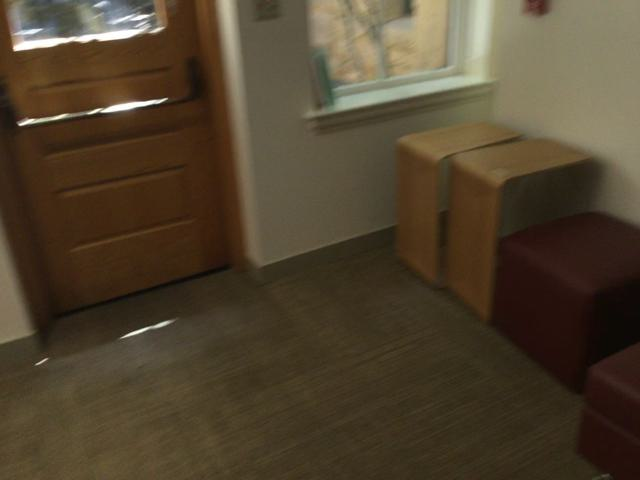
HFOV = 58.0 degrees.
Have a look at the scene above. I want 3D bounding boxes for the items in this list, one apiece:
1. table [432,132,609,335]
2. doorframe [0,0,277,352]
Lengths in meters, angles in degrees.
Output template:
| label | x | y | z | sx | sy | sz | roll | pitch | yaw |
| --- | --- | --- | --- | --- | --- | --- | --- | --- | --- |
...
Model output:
| label | x | y | z | sx | sy | sz | roll | pitch | yaw |
| --- | --- | --- | --- | --- | --- | --- | --- | --- | --- |
| table | 0.790 | -0.050 | 2.370 | 0.480 | 0.640 | 0.420 | -14 | 26 | -21 |
| doorframe | -0.790 | -0.290 | 2.420 | 1.080 | 1.290 | 0.250 | -14 | 26 | -21 |
